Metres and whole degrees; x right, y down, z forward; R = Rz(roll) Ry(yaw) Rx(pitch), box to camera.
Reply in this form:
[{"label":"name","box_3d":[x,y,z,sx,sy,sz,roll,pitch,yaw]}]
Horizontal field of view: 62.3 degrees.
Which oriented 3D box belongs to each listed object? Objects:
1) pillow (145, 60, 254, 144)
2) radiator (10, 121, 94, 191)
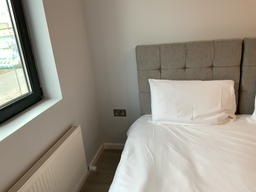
[{"label":"pillow","box_3d":[0.610,0.050,1.930,0.780,0.460,0.180,23,23,4]},{"label":"radiator","box_3d":[-0.520,0.680,1.420,0.060,0.530,1.240,0,19,14]}]
